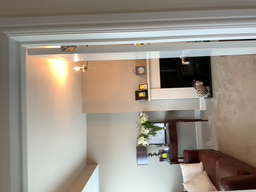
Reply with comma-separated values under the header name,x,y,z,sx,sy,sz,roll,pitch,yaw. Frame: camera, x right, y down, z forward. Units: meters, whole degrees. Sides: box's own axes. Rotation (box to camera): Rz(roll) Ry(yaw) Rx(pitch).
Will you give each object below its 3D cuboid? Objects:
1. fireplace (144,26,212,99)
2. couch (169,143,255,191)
name,x,y,z,sx,sy,sz,roll,pitch,yaw
fireplace,0.880,-0.580,3.910,0.440,1.100,1.220,87,-179,-86
couch,1.110,1.300,2.760,1.590,0.800,1.090,87,-179,-87
